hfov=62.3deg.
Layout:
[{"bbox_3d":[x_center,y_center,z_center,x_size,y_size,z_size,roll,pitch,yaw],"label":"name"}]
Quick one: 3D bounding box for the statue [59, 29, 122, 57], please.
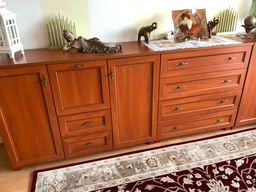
[{"bbox_3d":[-0.320,-0.460,1.780,0.470,0.130,0.310,-10,28,-17],"label":"statue"}]
